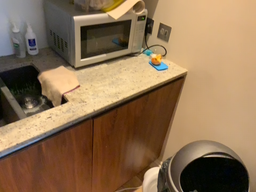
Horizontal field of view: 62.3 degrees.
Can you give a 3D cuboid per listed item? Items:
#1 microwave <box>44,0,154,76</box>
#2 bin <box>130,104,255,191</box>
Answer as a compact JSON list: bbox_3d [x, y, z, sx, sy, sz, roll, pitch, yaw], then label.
[{"bbox_3d":[-0.150,-0.360,1.150,0.460,0.280,0.300,-24,47,-36],"label":"microwave"},{"bbox_3d":[0.310,0.520,1.120,0.430,0.760,0.410,-24,47,-36],"label":"bin"}]
